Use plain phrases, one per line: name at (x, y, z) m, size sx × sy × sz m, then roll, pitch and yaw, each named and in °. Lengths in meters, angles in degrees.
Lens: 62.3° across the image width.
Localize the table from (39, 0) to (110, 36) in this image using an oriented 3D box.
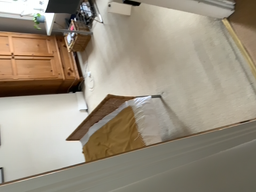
table at (-0.790, -1.500, 3.120) m, size 1.000 × 0.750 × 0.630 m, roll -43°, pitch 59°, yaw 49°

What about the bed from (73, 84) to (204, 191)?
bed at (0.070, 1.220, 2.370) m, size 1.670 × 0.480 × 2.190 m, roll -38°, pitch 62°, yaw 51°
